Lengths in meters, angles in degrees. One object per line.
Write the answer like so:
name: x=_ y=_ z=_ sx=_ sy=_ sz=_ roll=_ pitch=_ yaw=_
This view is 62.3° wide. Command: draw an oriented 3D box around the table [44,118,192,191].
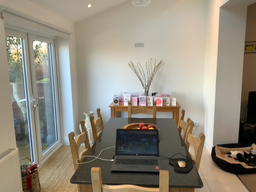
table: x=-0.030 y=0.840 z=2.210 sx=0.930 sy=0.780 sz=1.660 roll=0 pitch=10 yaw=2

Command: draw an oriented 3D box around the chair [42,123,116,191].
chair: x=-0.390 y=0.790 z=1.920 sx=0.490 sy=0.980 sz=0.460 roll=1 pitch=10 yaw=6

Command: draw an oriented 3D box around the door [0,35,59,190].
door: x=-1.580 y=0.130 z=3.120 sx=0.100 sy=1.910 sz=2.040 roll=1 pitch=10 yaw=8
